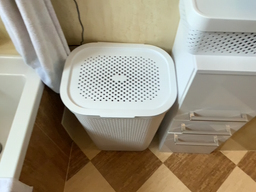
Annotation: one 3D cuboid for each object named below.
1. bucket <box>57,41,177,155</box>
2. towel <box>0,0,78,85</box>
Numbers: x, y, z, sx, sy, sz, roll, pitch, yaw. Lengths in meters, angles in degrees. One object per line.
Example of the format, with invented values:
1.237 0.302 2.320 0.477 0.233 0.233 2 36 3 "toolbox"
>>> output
-0.040 0.060 1.080 0.420 0.610 0.310 2 60 0 "bucket"
-0.330 -0.310 0.610 0.210 0.740 0.180 1 60 -1 "towel"
